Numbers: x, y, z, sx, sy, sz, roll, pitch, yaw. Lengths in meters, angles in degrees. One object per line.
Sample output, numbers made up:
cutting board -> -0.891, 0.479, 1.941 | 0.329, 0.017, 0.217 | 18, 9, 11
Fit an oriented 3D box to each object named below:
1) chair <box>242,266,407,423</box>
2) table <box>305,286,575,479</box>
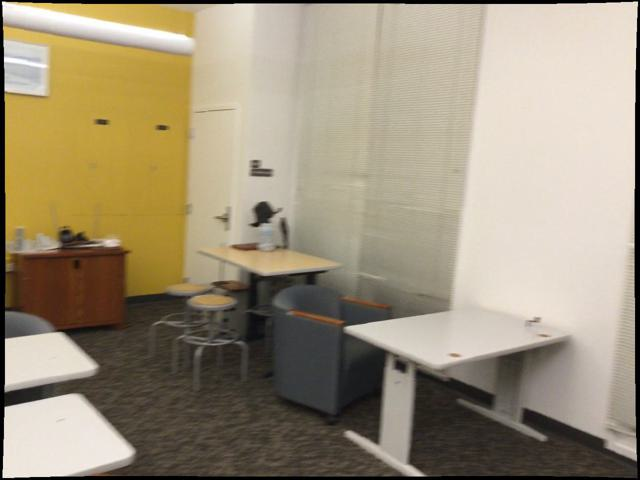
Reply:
chair -> 0.040, 0.651, 3.960 | 0.779, 0.741, 0.790 | 9, 10, 35
table -> 0.739, 0.791, 3.570 | 1.289, 0.701, 1.000 | -4, 11, -41
